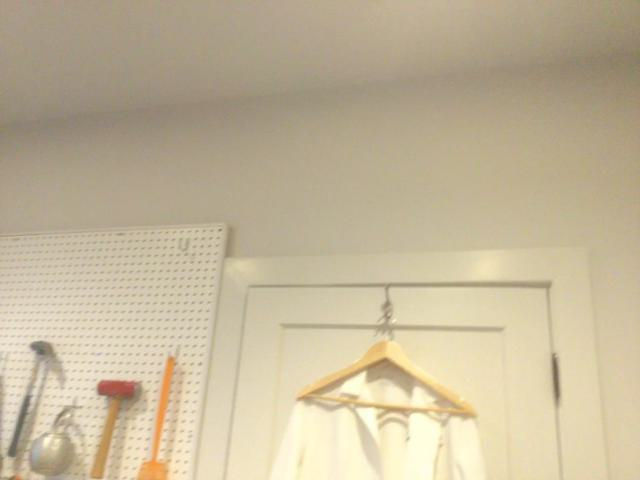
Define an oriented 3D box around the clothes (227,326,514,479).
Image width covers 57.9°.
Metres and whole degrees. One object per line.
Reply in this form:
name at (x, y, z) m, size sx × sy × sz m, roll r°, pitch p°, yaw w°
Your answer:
clothes at (0.100, 0.700, 1.270) m, size 0.630 × 1.000 × 0.140 m, roll -2°, pitch -21°, yaw 14°
